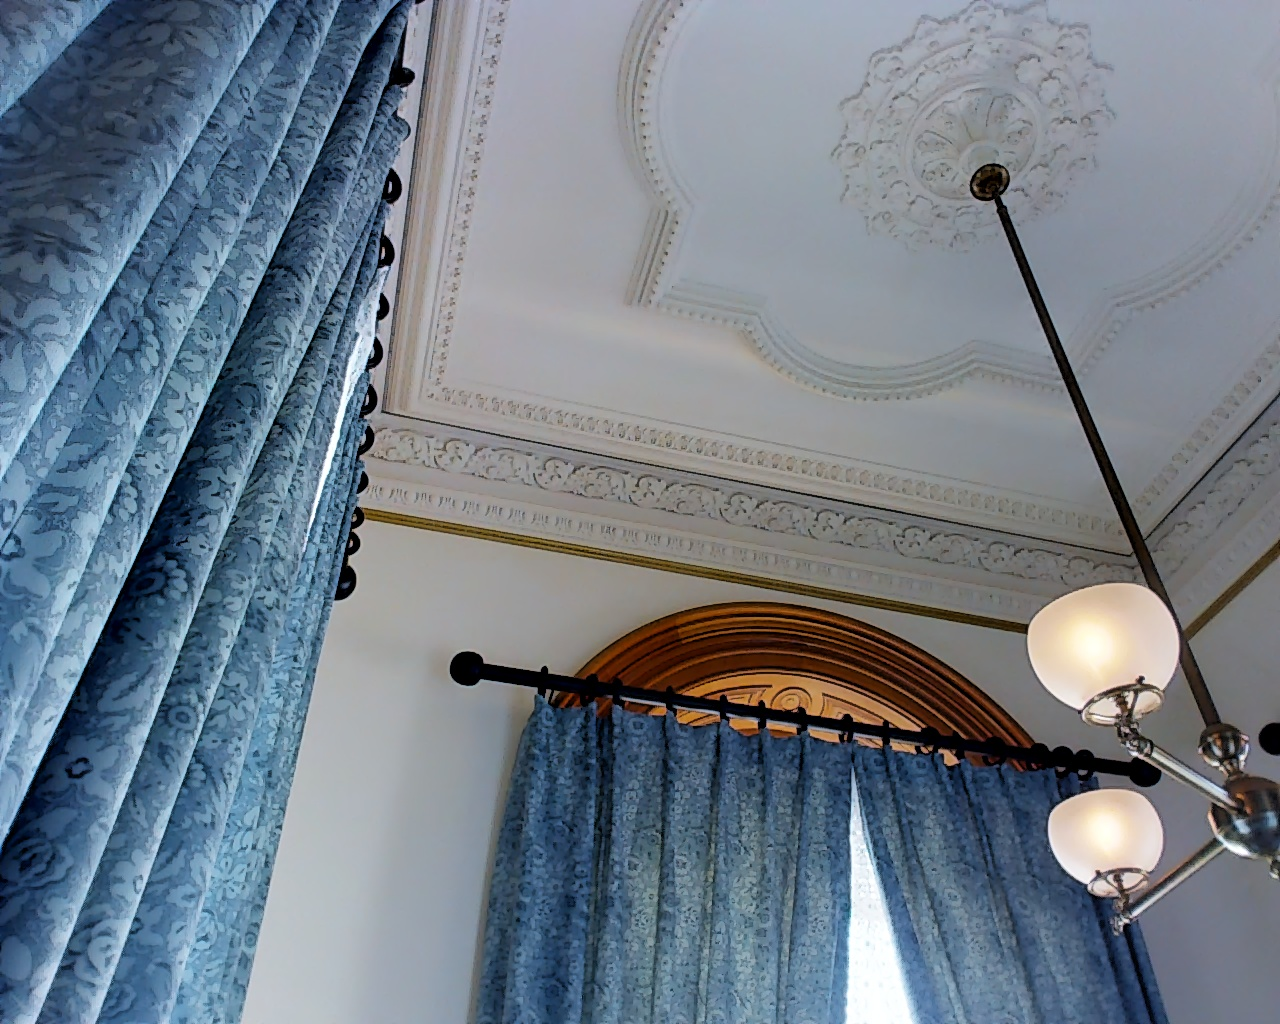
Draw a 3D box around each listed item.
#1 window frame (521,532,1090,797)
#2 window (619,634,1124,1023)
[{"bbox_3d":[0.580,0.540,3.830,1.939,0.710,0.170,9,-43,-10],"label":"window frame"},{"bbox_3d":[0.660,1.681,2.760,1.429,2.981,0.180,9,-43,-10],"label":"window"}]
